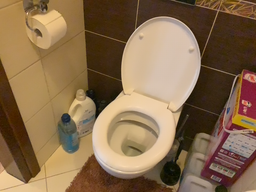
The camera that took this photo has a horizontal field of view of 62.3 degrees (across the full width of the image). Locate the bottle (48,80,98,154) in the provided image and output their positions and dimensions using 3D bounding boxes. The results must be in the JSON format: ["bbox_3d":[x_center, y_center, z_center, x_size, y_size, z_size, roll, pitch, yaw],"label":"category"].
[{"bbox_3d":[-0.320,0.130,1.320,0.140,0.340,0.280,20,44,14],"label":"bottle"}]
